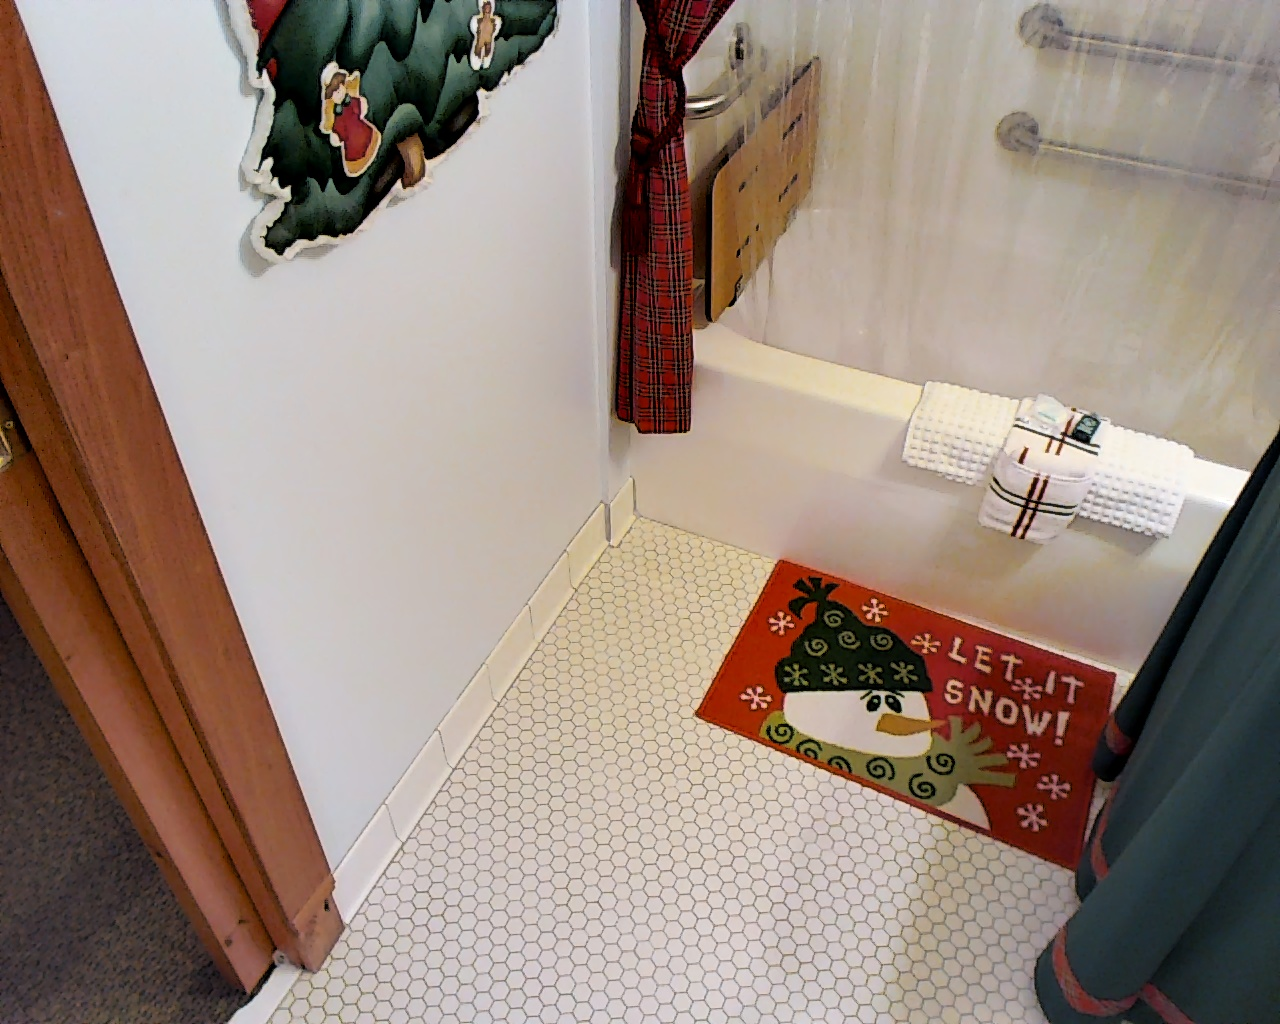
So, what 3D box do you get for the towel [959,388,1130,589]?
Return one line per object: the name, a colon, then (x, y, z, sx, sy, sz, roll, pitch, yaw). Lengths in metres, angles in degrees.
towel: (0.690, -0.040, 1.850, 0.190, 0.250, 0.170, 19, 45, 18)
